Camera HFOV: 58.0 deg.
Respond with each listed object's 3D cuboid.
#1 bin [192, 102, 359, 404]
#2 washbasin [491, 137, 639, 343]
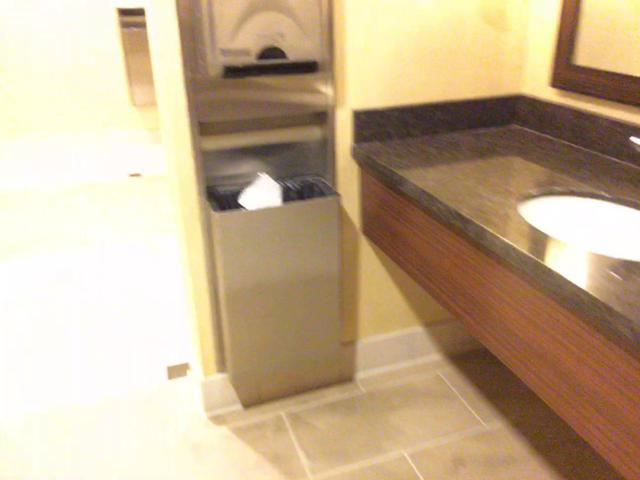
[{"bbox_3d":[-0.130,0.050,1.800,0.430,0.890,0.210,-7,26,-15],"label":"bin"},{"bbox_3d":[0.640,-0.030,1.210,0.360,0.250,0.400,-7,26,-15],"label":"washbasin"}]
